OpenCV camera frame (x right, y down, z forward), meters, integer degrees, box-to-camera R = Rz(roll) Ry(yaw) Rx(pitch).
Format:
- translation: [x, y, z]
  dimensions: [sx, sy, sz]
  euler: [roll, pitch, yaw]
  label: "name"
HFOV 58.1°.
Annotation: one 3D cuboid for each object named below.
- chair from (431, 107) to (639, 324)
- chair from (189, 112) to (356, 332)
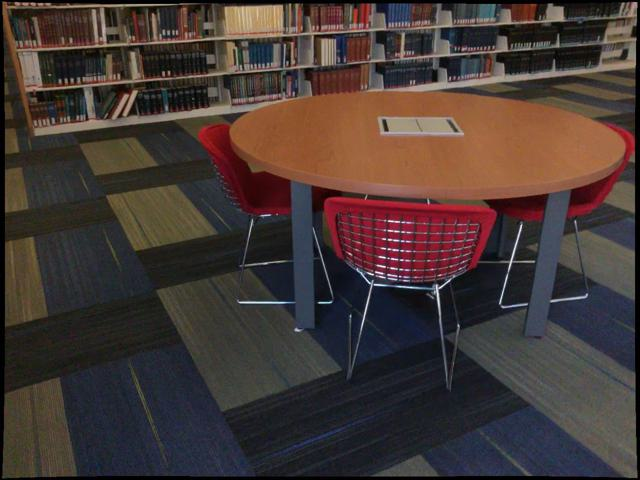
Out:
- translation: [0.967, -0.150, 2.560]
  dimensions: [0.668, 0.701, 0.640]
  euler: [-8, 26, -15]
  label: "chair"
- translation: [-0.199, -0.110, 2.530]
  dimensions: [0.598, 0.732, 0.660]
  euler: [-3, 25, -6]
  label: "chair"
